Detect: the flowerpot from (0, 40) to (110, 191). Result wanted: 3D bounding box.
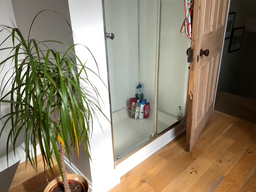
[{"bbox_3d":[-0.350,0.260,1.140,0.360,1.020,0.290,21,34,40],"label":"flowerpot"}]

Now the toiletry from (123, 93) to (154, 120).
[{"bbox_3d":[0.110,0.110,2.380,0.270,0.150,0.290,-8,26,-12],"label":"toiletry"}]
